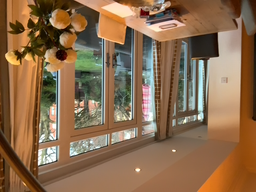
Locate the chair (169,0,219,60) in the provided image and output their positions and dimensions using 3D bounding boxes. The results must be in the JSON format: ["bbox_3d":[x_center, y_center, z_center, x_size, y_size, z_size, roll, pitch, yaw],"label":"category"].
[{"bbox_3d":[0.880,-1.060,2.770,0.480,1.030,0.680,1,-179,30],"label":"chair"}]

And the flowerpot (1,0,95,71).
[{"bbox_3d":[-0.440,-0.470,1.150,0.480,0.620,0.230,1,-179,32],"label":"flowerpot"}]
